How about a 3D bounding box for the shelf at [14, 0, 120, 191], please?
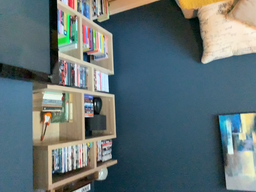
[{"bbox_3d":[-0.490,-0.230,1.970,0.340,1.830,0.950,-5,173,27],"label":"shelf"}]
